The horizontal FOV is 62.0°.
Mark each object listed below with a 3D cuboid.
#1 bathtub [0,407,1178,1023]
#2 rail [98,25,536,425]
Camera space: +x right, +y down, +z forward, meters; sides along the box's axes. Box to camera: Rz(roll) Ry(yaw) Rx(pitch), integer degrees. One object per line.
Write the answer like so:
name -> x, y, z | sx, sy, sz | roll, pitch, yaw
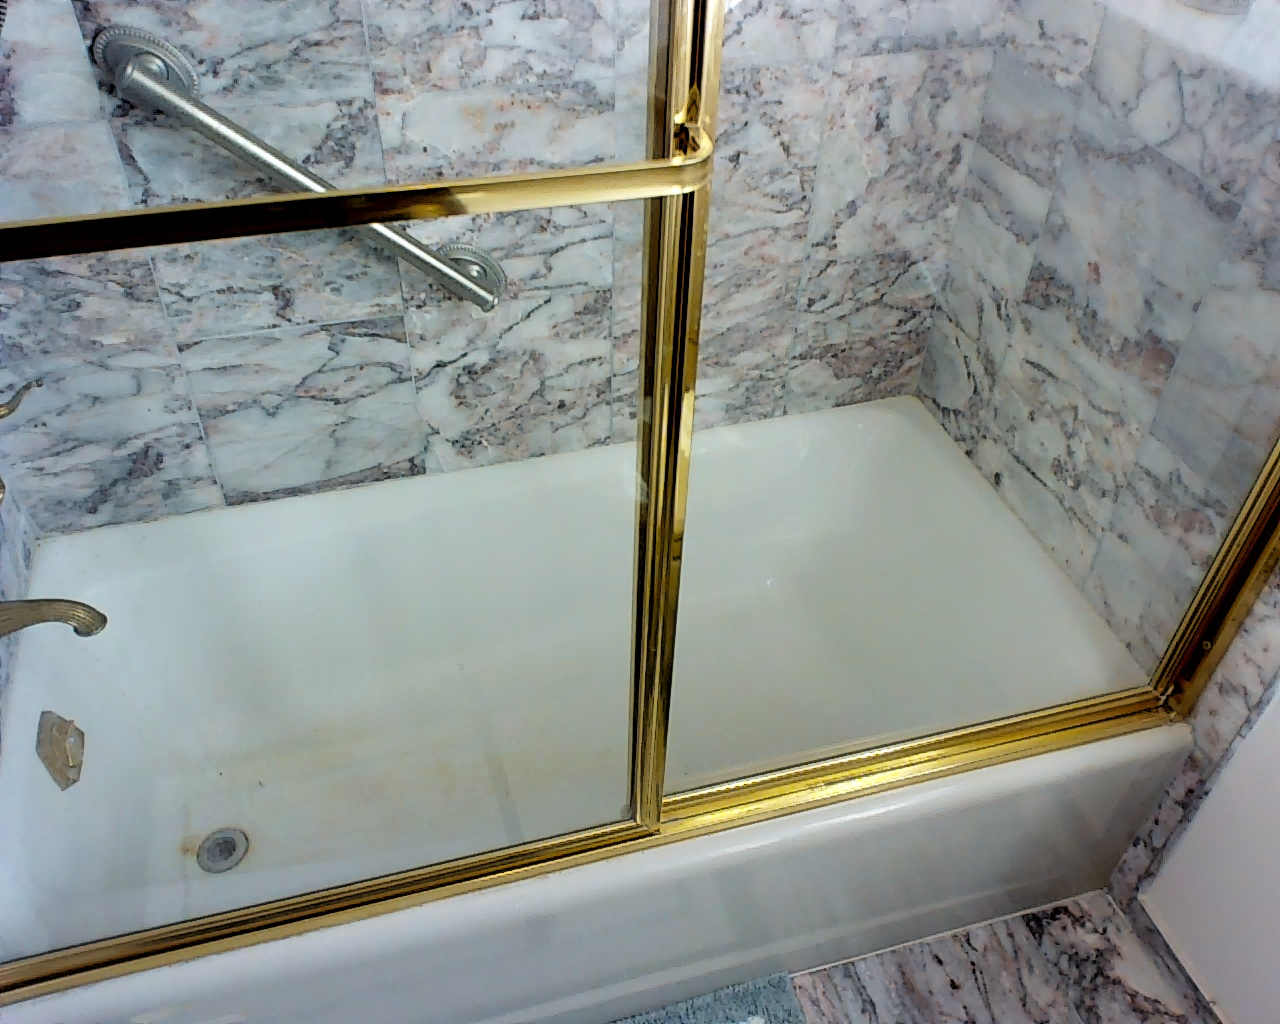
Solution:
bathtub -> -0.110, 0.310, 1.580 | 1.400, 0.370, 0.770 | -9, 42, -12
rail -> -0.370, -0.350, 1.350 | 0.450, 0.460, 0.080 | -9, 43, -13
